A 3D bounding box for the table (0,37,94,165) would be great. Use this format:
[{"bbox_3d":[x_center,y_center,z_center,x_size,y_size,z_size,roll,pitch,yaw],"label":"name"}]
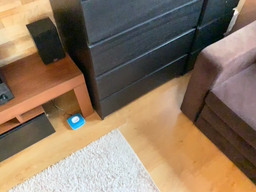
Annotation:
[{"bbox_3d":[-0.910,0.160,1.330,1.300,0.460,0.400,-29,59,-20],"label":"table"}]
